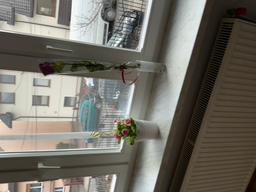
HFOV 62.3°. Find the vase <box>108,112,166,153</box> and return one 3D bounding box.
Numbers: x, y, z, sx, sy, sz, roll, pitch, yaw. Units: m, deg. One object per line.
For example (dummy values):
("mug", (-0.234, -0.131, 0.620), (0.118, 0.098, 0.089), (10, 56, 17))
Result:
("vase", (0.050, 0.220, 1.300), (0.180, 0.280, 0.170), (-132, 50, -59))
